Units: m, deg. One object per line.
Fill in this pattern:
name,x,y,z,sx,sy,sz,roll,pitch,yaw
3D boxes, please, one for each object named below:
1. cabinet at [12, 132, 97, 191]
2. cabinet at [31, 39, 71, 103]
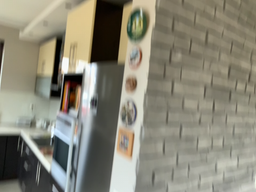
cabinet,-1.150,1.100,3.020,0.590,0.830,1.690,6,1,-36
cabinet,-1.430,-0.430,3.850,0.320,0.990,1.020,6,1,-36
